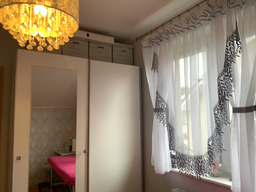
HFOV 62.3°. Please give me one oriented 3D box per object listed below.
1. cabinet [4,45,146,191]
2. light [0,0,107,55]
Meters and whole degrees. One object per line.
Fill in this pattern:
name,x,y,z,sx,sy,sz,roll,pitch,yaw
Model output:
cabinet,-0.600,0.660,2.630,1.540,0.670,2.180,3,84,-33
light,-0.460,-0.650,1.180,0.440,0.580,0.610,40,55,-48
